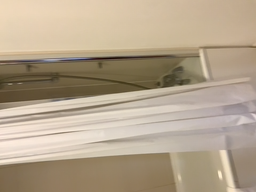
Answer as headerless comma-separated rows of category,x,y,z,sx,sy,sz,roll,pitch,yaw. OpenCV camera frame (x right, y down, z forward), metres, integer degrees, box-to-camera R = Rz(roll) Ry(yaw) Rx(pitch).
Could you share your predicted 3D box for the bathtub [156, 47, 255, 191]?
bathtub,0.720,0.620,1.510,0.700,0.540,1.750,140,124,-70
